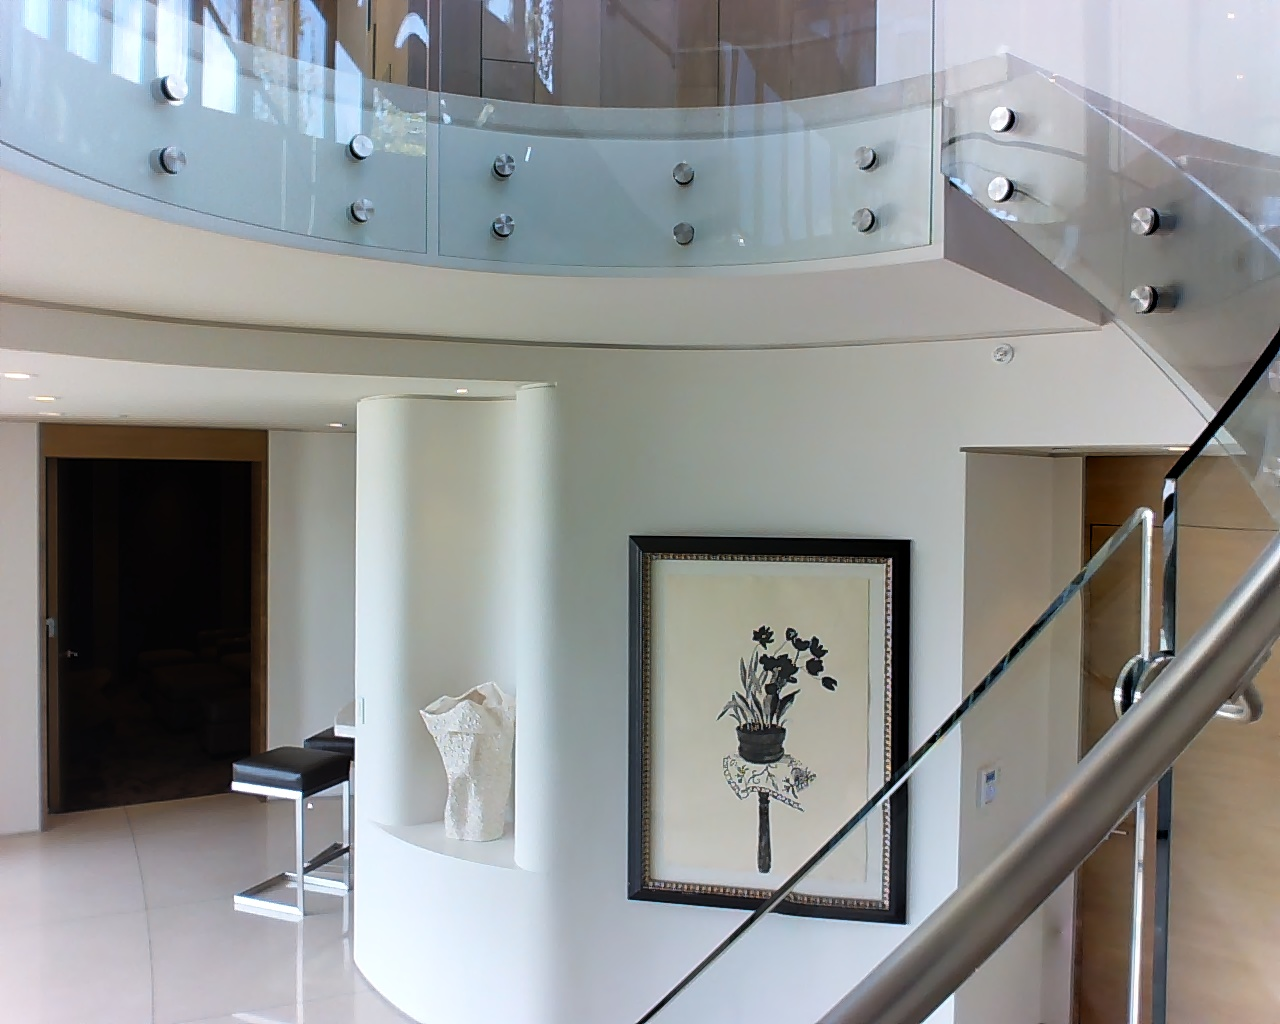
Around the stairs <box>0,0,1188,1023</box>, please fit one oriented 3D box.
[{"bbox_3d":[-1.340,0.760,4.200,4.470,3.300,4.700,0,1,-38],"label":"stairs"}]
